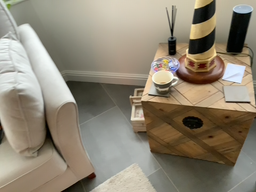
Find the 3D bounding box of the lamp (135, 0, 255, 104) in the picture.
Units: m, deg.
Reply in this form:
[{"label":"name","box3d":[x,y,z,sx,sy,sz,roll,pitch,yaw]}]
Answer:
[{"label":"lamp","box3d":[0.300,-0.400,0.830,0.440,0.790,0.400,7,50,17]}]
